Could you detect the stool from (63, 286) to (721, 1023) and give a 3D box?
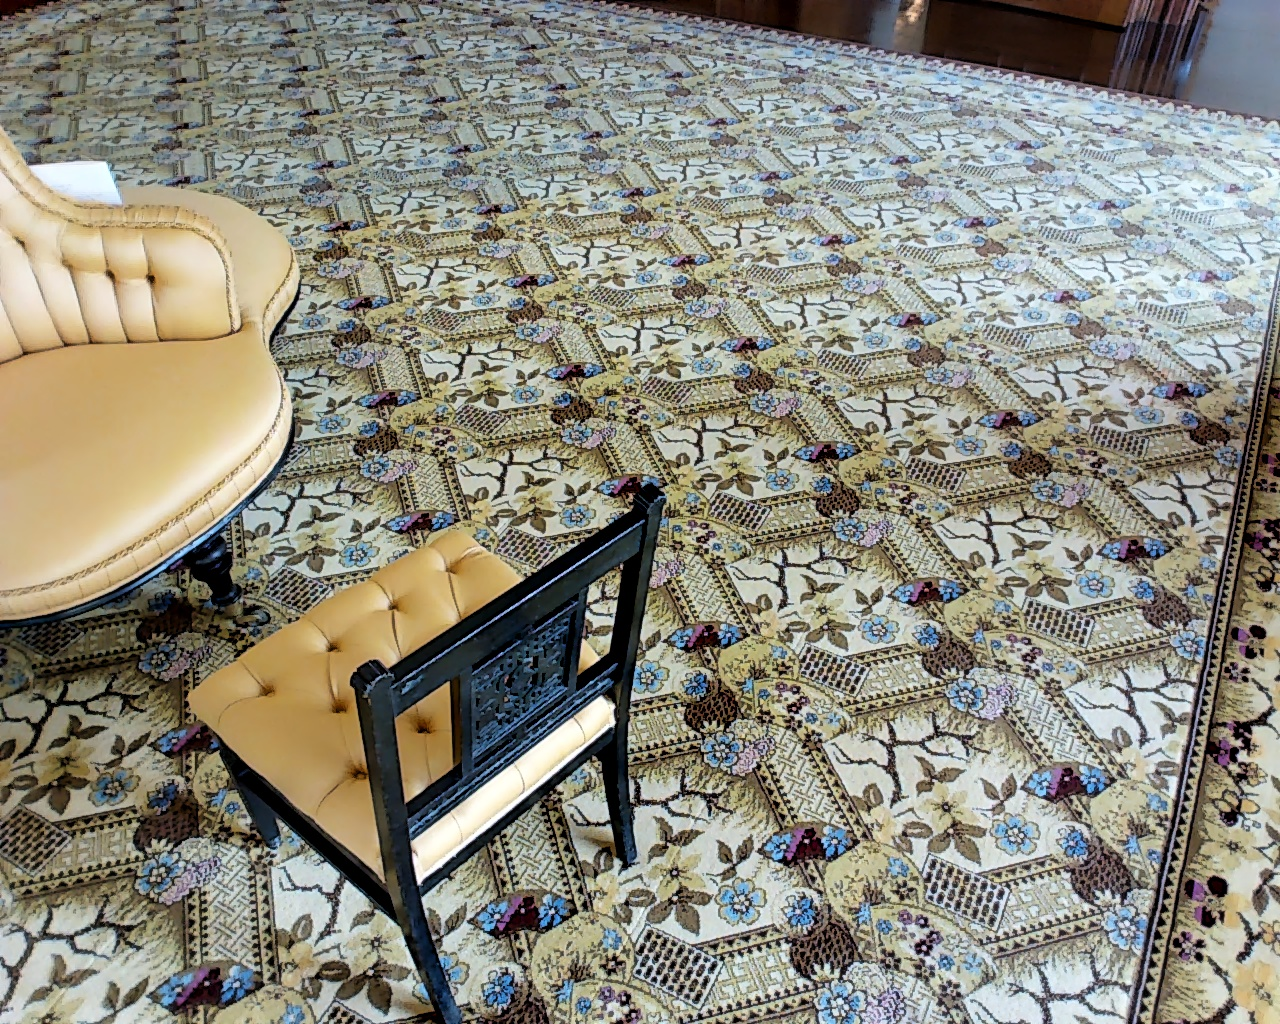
[{"bbox_3d":[-0.280,0.210,1.500,0.520,0.750,0.550,30,50,29],"label":"stool"}]
